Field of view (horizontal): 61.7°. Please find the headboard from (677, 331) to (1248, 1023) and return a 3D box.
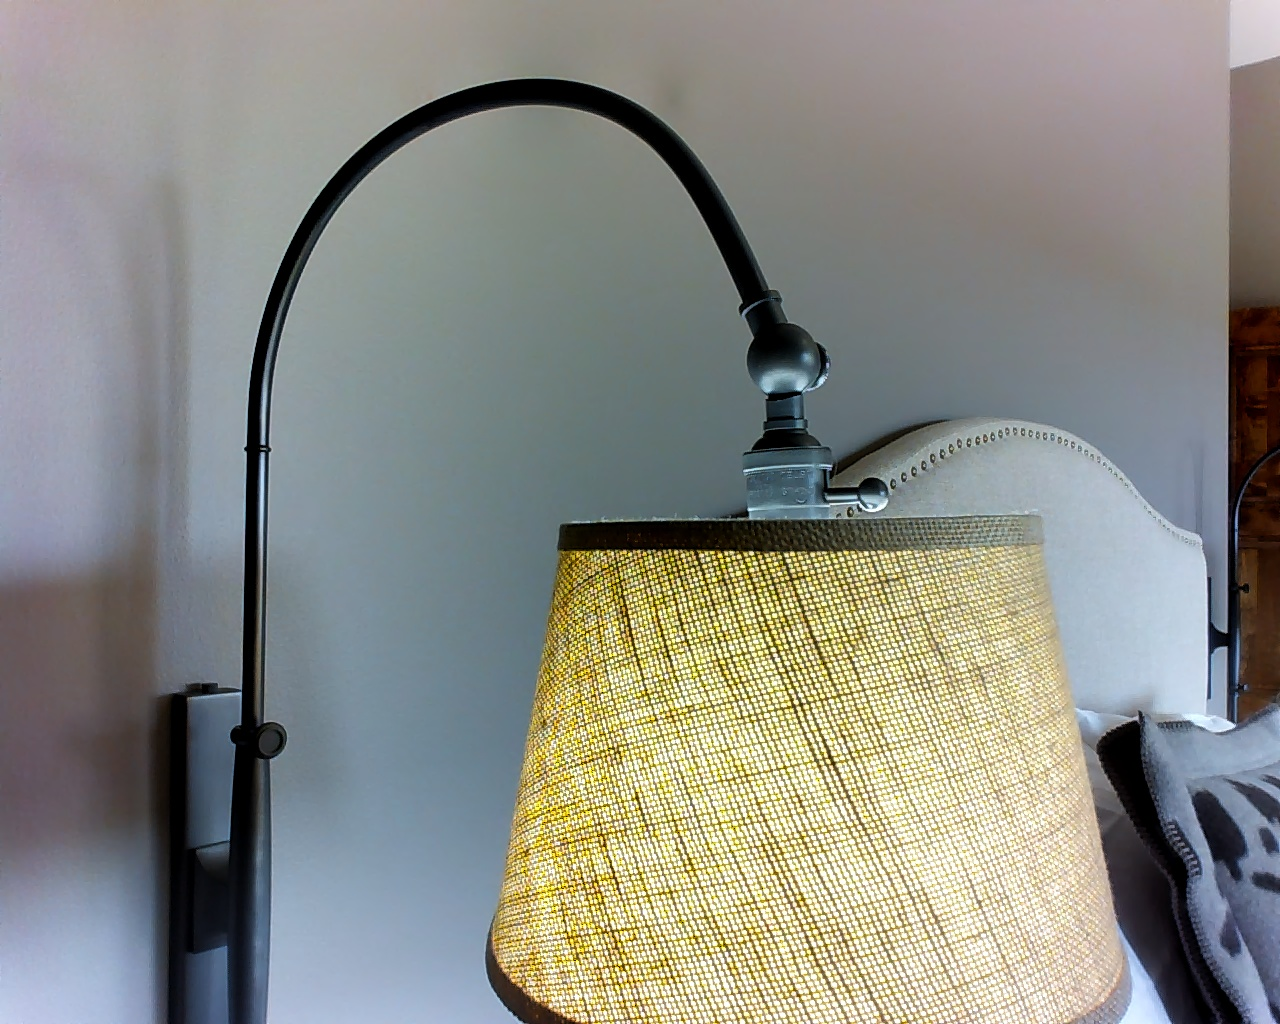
[{"bbox_3d":[0.580,0.360,1.470,0.110,0.990,1.500,0,-1,42],"label":"headboard"}]
